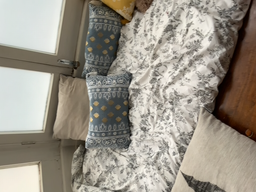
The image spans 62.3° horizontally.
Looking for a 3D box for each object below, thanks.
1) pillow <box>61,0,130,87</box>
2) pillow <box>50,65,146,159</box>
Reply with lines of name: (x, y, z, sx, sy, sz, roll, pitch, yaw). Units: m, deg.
pillow: (-0.180, -0.320, 1.320, 0.130, 0.260, 0.440, 13, 133, 44)
pillow: (-0.140, 0.100, 1.210, 0.130, 0.310, 0.470, 2, 146, 50)
